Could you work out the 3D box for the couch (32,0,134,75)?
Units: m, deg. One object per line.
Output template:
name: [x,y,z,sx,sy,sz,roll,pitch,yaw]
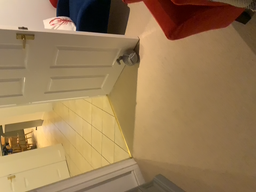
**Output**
couch: [-0.510,-0.730,2.180,0.680,0.740,0.780,45,130,42]
